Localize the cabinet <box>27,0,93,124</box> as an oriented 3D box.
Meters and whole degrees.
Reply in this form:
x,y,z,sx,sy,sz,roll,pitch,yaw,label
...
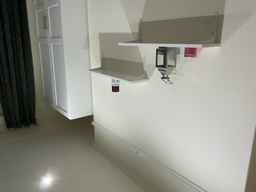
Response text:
x,y,z,sx,sy,sz,roll,pitch,yaw,label
-0.930,-0.940,2.720,0.330,2.360,1.050,-14,-159,-38,cabinet
